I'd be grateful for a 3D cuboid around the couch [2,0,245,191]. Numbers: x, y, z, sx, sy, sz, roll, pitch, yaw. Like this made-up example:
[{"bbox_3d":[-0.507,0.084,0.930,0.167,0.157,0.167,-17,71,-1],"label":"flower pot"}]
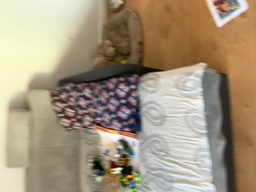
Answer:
[{"bbox_3d":[-0.150,0.840,1.490,1.490,0.980,2.240,-4,85,47],"label":"couch"}]
